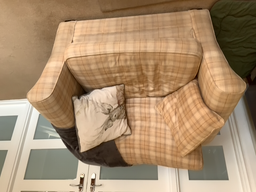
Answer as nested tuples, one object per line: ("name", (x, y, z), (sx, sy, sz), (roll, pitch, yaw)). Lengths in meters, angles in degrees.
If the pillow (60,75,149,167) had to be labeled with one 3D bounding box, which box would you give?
("pillow", (-0.180, 0.180, 1.650), (0.400, 0.550, 0.240), (-40, 152, -12))
